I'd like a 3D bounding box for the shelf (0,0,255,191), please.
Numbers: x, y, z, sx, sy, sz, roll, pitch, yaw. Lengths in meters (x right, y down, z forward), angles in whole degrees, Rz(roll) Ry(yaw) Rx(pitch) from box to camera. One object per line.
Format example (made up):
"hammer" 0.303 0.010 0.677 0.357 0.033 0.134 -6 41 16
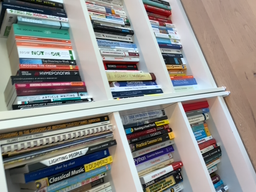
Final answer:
"shelf" -0.340 0.100 0.560 0.310 2.030 1.610 -31 71 46
